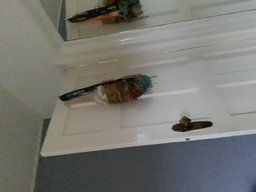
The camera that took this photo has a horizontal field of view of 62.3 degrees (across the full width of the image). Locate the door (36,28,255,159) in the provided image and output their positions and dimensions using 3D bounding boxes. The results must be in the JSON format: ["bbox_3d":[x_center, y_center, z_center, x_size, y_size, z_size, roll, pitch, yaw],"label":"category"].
[{"bbox_3d":[0.510,-0.120,1.310,0.860,2.010,0.040,-92,-9,-46],"label":"door"}]

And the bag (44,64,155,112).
[{"bbox_3d":[-0.170,-0.050,1.320,0.200,0.650,0.100,-91,-9,-47],"label":"bag"}]
